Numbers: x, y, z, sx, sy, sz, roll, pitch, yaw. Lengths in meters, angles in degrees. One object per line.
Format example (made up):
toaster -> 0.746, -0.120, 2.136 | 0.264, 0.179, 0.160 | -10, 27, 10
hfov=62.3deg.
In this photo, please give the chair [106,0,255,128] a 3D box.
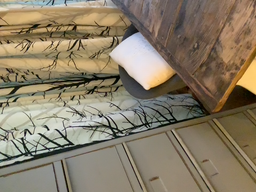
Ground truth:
chair -> 0.400, -0.310, 1.010 | 0.550, 0.820, 0.520 | 57, 147, 41
